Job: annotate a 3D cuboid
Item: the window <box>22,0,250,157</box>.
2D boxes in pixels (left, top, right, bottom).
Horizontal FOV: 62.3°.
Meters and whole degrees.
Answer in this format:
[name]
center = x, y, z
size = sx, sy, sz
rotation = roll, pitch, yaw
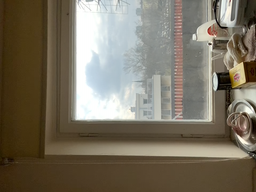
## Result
[window]
center = 0.030, -0.280, 1.330
size = 0.220, 1.270, 1.230
rotation = 37, -127, -84
